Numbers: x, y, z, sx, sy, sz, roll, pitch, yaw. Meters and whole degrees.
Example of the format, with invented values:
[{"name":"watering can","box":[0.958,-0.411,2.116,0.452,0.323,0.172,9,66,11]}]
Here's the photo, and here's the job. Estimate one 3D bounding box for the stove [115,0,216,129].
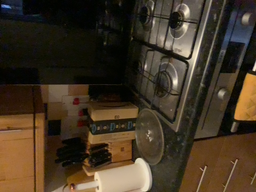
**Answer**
[{"name":"stove","box":[0.100,-0.240,0.850,0.510,0.050,0.550,-135,49,-55]}]
